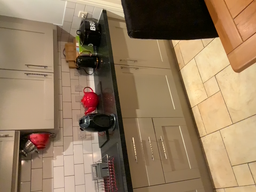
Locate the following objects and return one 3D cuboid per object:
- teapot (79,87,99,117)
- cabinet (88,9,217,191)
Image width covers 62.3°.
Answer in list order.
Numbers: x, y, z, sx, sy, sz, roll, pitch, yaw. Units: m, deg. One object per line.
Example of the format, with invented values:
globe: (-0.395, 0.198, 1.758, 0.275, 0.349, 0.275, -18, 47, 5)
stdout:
teapot: (-0.450, 0.070, 2.430, 0.190, 0.160, 0.290, 134, 132, -56)
cabinet: (0.240, 0.680, 2.200, 0.630, 0.920, 3.340, 134, 133, -56)
